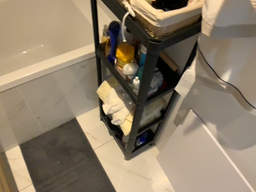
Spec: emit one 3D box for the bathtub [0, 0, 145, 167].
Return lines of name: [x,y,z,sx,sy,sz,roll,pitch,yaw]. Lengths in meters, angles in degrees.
bathtub: [-0.730,-0.110,1.300,1.390,0.570,0.780,-24,62,-20]
